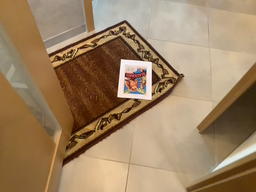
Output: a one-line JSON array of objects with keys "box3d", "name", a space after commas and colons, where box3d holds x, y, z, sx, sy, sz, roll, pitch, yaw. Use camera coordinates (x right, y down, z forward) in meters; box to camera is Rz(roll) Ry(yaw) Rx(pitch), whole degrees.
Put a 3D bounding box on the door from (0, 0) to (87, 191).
[{"box3d": [-0.290, -0.030, 0.180, 0.110, 2.170, 1.040, 5, 60, -1], "name": "door"}]
